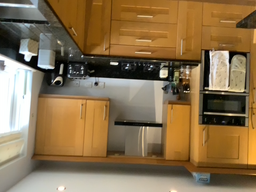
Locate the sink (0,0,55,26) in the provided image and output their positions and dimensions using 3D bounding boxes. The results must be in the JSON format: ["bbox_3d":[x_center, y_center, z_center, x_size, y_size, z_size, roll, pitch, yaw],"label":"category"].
[{"bbox_3d":[-0.750,-0.650,1.350,0.440,0.260,0.350,3,177,-1],"label":"sink"}]

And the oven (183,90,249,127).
[{"bbox_3d":[1.110,0.160,2.770,0.600,0.400,0.570,3,178,-1],"label":"oven"}]
